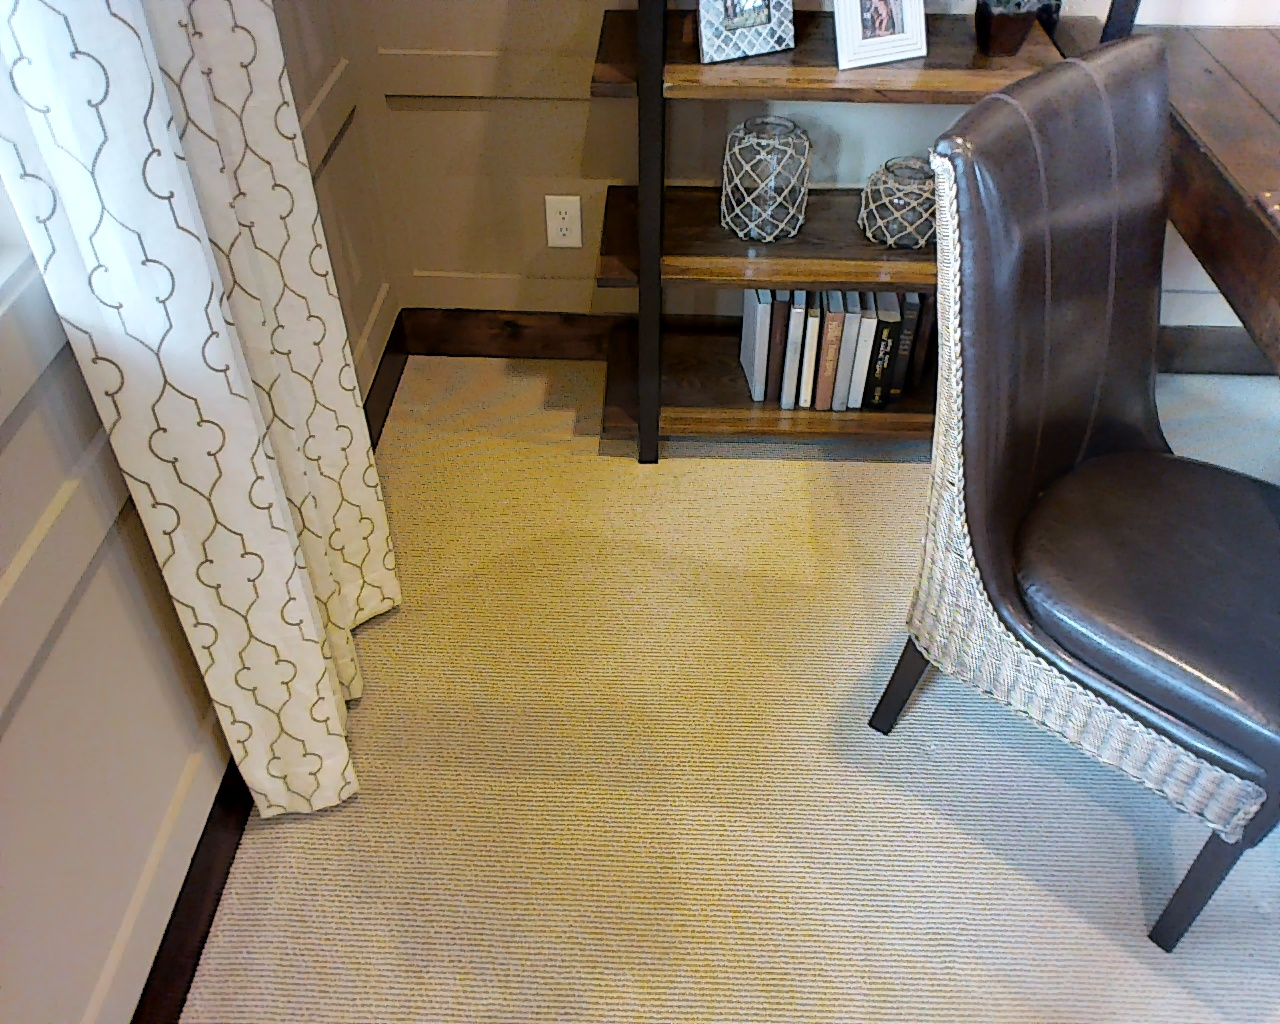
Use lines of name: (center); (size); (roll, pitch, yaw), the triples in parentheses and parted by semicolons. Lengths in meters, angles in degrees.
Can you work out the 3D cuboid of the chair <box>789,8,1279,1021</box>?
chair: (0.690, 0.000, 1.390); (0.530, 0.970, 0.720); (-32, 51, -31)
